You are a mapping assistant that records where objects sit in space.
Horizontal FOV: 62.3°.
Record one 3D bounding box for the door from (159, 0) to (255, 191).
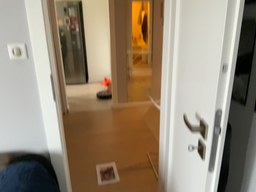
[{"bbox_3d":[0.310,0.110,1.120,0.110,2.070,0.870,-1,20,0],"label":"door"}]
